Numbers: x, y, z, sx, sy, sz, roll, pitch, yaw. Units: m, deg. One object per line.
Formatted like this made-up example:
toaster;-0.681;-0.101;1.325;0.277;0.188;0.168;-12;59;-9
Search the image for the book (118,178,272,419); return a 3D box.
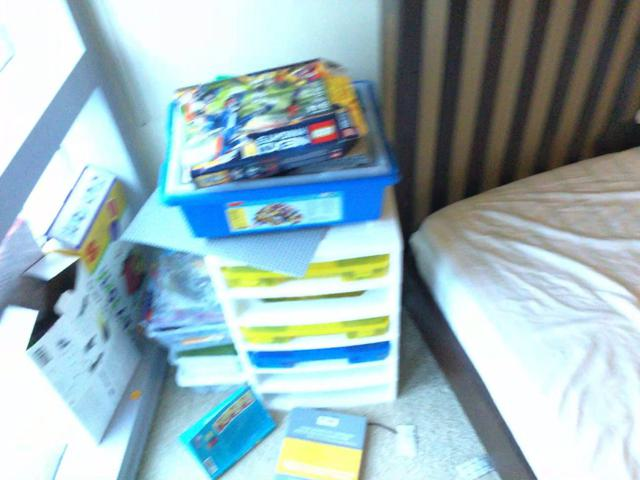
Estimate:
book;-0.320;0.150;1.490;0.230;0.410;0.410;-17;47;-7
